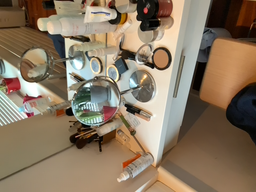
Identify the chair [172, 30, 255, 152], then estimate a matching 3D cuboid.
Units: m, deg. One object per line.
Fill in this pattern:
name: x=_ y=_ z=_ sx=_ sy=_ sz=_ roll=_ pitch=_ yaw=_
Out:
chair: x=0.590 y=-0.080 z=0.950 sx=0.430 sy=0.660 sz=0.320 roll=26 pitch=122 yaw=37
